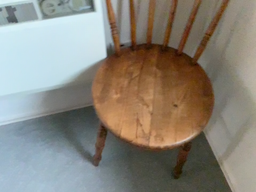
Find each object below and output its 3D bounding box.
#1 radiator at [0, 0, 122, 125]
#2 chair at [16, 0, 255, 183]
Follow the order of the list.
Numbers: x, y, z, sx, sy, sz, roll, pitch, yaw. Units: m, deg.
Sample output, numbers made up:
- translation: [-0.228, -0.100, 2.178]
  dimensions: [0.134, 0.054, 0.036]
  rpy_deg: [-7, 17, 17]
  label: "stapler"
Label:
- translation: [-0.390, -0.130, 0.740]
  dimensions: [0.720, 0.580, 0.150]
  rpy_deg: [-13, 59, -10]
  label: "radiator"
- translation: [0.100, -0.050, 0.790]
  dimensions: [0.510, 0.820, 0.510]
  rpy_deg: [5, 58, 2]
  label: "chair"
